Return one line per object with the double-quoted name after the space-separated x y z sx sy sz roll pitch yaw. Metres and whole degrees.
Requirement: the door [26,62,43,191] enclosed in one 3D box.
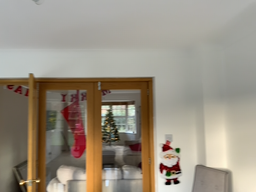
-0.980 0.740 2.240 0.120 2.080 0.660 1 -4 -21 "door"
